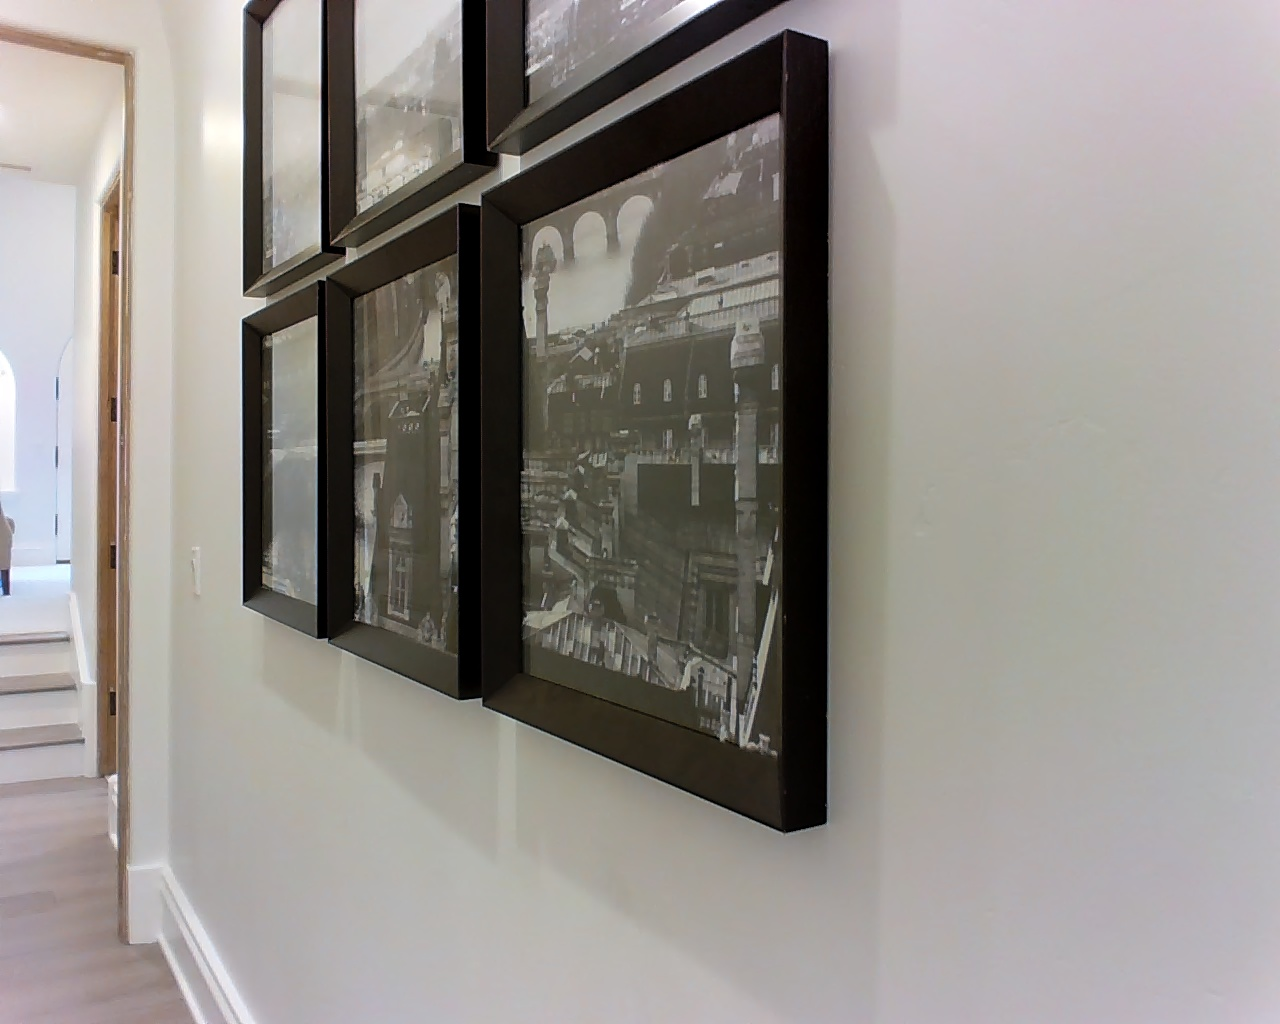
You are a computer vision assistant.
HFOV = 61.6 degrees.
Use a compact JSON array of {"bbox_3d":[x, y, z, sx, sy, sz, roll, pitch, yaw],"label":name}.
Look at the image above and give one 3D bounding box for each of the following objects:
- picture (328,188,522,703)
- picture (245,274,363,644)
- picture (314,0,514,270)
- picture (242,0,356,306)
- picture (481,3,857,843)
[{"bbox_3d":[-0.300,-0.060,1.400,0.060,0.560,0.530,1,-4,-32],"label":"picture"},{"bbox_3d":[-0.590,-0.080,1.850,0.050,0.560,0.510,1,-1,-33],"label":"picture"},{"bbox_3d":[-0.310,-0.650,1.400,0.070,0.560,0.520,1,-1,-33],"label":"picture"},{"bbox_3d":[-0.590,-0.680,1.830,0.050,0.570,0.500,1,-1,-33],"label":"picture"},{"bbox_3d":[-0.010,-0.060,0.940,0.040,0.560,0.510,1,-1,-33],"label":"picture"}]
